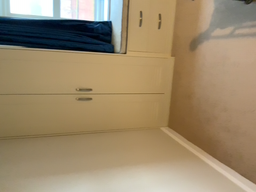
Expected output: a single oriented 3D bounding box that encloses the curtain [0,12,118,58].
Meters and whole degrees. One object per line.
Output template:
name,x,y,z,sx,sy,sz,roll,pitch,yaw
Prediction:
curtain,-1.000,-0.740,2.700,0.390,1.680,0.440,-155,65,-68
